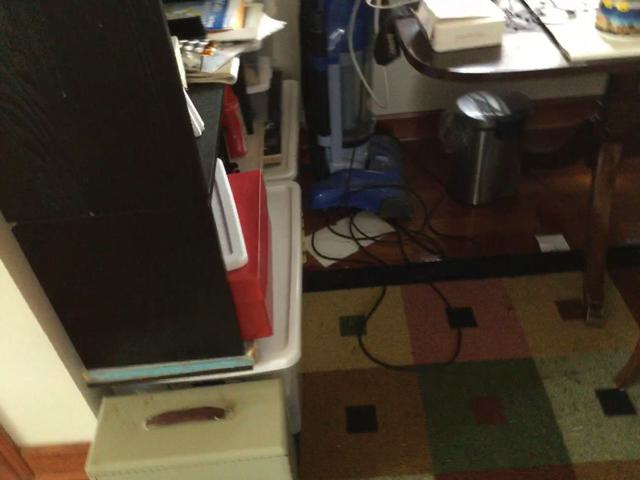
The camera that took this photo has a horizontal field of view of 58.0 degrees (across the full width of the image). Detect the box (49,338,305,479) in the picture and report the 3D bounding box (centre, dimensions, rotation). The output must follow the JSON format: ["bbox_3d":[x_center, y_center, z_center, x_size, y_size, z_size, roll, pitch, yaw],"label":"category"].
[{"bbox_3d":[-0.240,0.390,1.110,0.390,0.270,0.250,-6,44,3],"label":"box"}]
